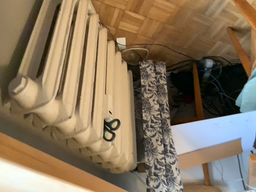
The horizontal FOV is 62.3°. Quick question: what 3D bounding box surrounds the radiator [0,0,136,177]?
[{"bbox_3d":[-0.190,-0.100,0.900,0.170,0.690,0.680,-15,143,21],"label":"radiator"}]
